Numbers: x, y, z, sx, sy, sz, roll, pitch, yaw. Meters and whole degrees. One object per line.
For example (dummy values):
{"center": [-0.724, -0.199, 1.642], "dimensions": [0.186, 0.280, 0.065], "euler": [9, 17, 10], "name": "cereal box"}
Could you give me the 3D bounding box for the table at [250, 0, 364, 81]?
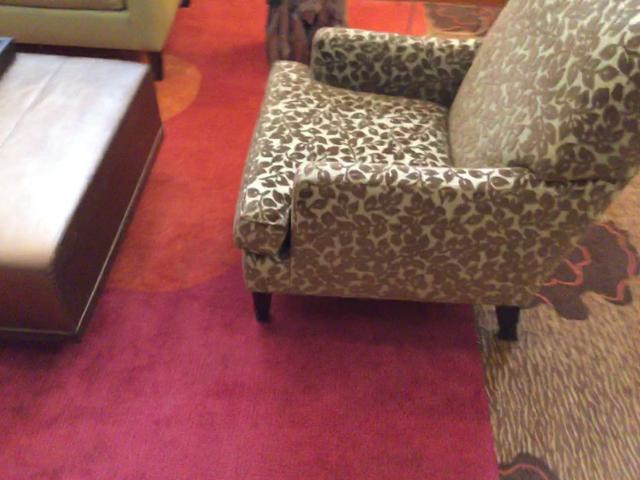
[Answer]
{"center": [-0.050, -1.070, 2.470], "dimensions": [0.450, 0.590, 0.410], "euler": [5, 46, -3], "name": "table"}
